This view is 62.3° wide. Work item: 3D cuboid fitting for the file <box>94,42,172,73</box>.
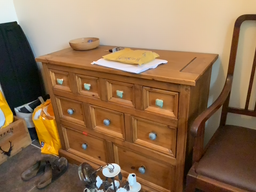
[{"bbox_3d":[0.030,-0.220,1.140,0.310,0.060,0.280,15,31,33],"label":"file"}]
